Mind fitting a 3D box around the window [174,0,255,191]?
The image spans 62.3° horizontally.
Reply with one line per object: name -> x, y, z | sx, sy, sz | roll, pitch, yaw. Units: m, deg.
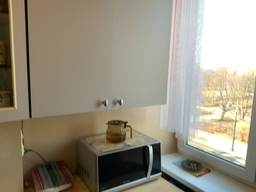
window -> 0.920, -0.170, 1.290 | 0.190, 1.700, 1.410 | -4, 10, -35
